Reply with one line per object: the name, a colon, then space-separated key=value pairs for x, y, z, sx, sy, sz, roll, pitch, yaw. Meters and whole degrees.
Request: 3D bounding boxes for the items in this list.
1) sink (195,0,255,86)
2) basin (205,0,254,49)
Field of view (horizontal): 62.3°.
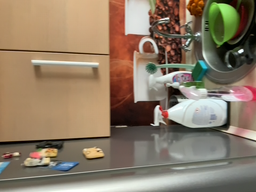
sink: x=0.500 y=-0.310 z=0.910 sx=0.480 sy=0.180 sz=0.520 roll=-175 pitch=85 yaw=-76
basin: x=0.470 y=-0.350 z=1.000 sx=0.180 sy=0.120 sz=0.210 roll=-175 pitch=85 yaw=-76
